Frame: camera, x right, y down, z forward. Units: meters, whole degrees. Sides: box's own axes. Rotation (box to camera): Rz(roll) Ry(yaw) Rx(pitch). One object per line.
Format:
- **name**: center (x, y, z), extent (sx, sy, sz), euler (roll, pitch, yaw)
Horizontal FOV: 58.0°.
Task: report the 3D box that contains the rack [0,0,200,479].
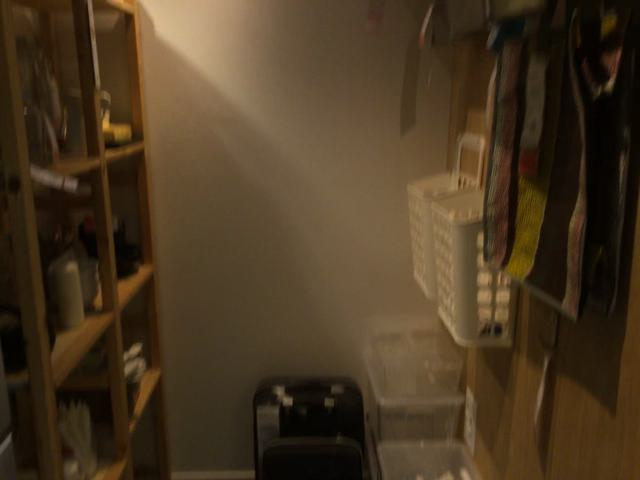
- **rack**: center (-0.630, 0.120, 1.550), extent (0.300, 1.900, 0.800), euler (-4, 12, -2)
